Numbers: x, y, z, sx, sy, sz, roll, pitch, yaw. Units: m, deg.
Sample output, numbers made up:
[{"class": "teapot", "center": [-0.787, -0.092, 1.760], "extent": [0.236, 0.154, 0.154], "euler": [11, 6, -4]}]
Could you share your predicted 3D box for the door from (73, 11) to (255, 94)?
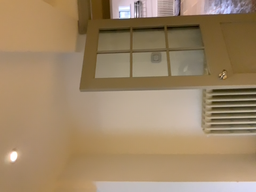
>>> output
[{"class": "door", "center": [0.540, -0.410, 1.890], "extent": [0.080, 1.980, 0.780], "euler": [83, -173, -64]}]
